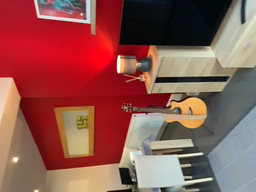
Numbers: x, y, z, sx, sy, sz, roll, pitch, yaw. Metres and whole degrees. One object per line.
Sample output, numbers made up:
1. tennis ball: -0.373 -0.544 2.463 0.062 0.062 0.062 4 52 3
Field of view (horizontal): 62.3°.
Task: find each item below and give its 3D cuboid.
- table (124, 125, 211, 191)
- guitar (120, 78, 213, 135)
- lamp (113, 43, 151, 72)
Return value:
1. table: 0.480 1.450 3.500 1.800 0.740 1.110 102 162 -49
2. guitar: 0.460 0.130 2.650 0.190 1.050 0.460 102 -179 -88
3. lamp: 0.030 -0.390 2.180 0.220 0.330 0.190 103 161 -52
